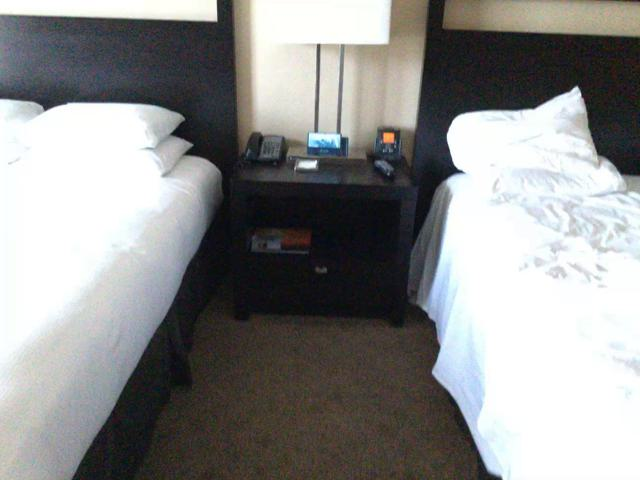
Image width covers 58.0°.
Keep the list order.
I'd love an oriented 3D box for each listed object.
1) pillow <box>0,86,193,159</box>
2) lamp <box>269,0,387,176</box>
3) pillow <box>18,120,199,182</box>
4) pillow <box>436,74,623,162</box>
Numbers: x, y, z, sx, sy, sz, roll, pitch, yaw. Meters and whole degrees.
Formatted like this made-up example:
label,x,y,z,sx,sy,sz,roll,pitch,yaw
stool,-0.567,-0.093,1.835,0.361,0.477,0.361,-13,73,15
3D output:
label,x,y,z,sx,sy,sz,roll,pitch,yaw
pillow,-0.910,-0.510,2.440,0.620,0.200,0.490,2,22,2
lamp,0.030,-0.690,2.440,0.450,0.780,0.270,2,22,2
pillow,-0.860,-0.390,2.450,0.580,0.140,0.470,2,22,2
pillow,0.850,-0.520,2.430,0.650,0.300,0.280,2,22,2
